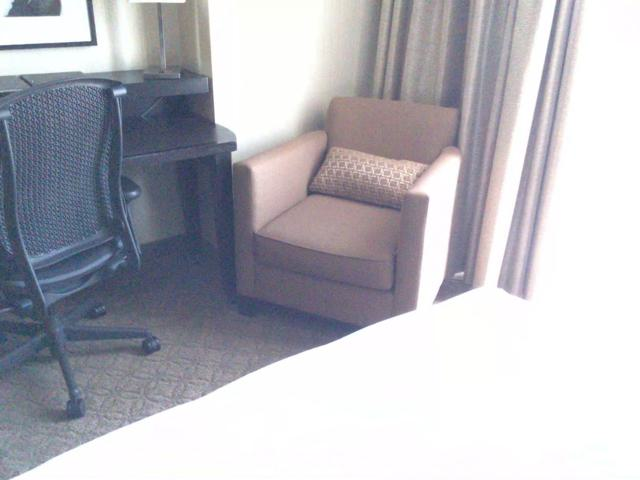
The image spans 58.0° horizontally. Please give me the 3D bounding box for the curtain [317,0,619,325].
[{"bbox_3d":[0.550,-0.630,2.590,0.340,1.630,1.170,-15,31,-37],"label":"curtain"}]
